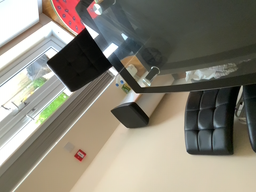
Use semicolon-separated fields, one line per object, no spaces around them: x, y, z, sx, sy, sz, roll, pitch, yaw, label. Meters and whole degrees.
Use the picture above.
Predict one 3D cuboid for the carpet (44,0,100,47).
-0.660;-1.050;2.420;0.790;0.060;0.790;32;148;11;carpet
